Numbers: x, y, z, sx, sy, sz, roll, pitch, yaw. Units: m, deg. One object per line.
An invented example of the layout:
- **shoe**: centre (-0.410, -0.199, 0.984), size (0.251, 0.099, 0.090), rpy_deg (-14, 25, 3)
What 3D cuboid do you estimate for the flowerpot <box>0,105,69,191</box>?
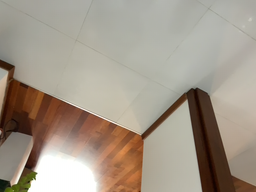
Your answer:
- **flowerpot**: centre (-1.170, 0.880, 2.060), size (0.640, 0.920, 1.150), rpy_deg (23, 130, -13)
